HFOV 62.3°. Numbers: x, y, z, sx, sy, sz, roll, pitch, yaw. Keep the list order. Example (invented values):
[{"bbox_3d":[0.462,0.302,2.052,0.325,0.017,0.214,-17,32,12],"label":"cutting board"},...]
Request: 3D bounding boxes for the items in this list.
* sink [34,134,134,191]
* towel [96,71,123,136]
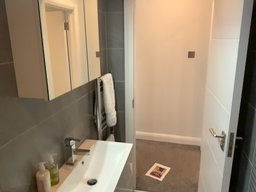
[{"bbox_3d":[-0.200,0.440,1.250,0.350,0.130,0.640,3,16,12],"label":"sink"},{"bbox_3d":[-0.140,0.050,1.750,0.140,0.480,0.260,3,16,12],"label":"towel"}]
